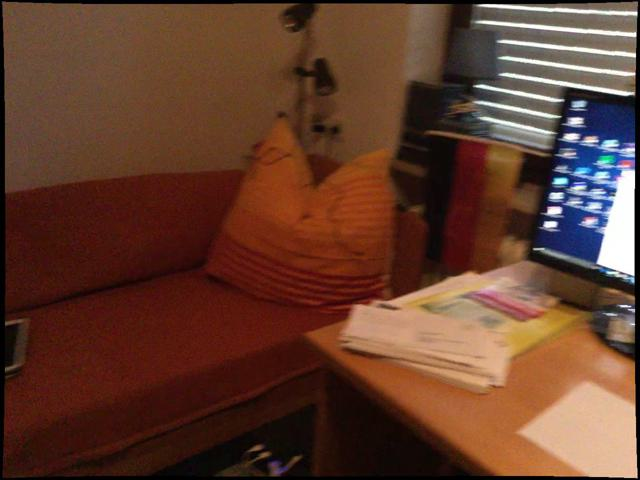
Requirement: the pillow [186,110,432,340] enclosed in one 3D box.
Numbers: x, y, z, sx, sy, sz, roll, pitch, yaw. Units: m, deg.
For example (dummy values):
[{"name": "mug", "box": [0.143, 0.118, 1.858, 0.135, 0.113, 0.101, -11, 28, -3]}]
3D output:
[{"name": "pillow", "box": [-0.060, -0.100, 1.900, 0.530, 0.510, 0.560, -15, 30, -39]}]
